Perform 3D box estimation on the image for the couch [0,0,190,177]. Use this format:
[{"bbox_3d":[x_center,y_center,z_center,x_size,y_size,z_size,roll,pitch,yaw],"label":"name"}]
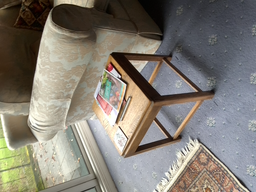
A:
[{"bbox_3d":[-0.710,-0.630,1.740,1.930,0.880,1.230,57,135,30],"label":"couch"}]
